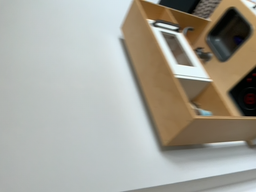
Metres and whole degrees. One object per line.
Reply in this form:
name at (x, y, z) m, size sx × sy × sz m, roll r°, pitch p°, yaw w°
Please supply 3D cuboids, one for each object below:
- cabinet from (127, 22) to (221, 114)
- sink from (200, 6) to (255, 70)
cabinet at (0.180, -0.120, 0.950) m, size 0.200 × 0.230 × 0.350 m, roll -58°, pitch 40°, yaw 43°
sink at (0.540, -0.310, 1.150) m, size 0.230 × 0.070 × 0.240 m, roll -57°, pitch 40°, yaw 43°
